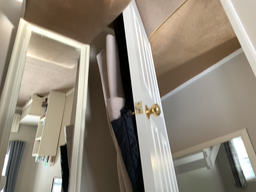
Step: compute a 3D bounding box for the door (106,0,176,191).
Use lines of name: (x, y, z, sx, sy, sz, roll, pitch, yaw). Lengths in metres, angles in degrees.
door: (0.120, 0.220, 1.190, 0.110, 1.960, 0.830, -13, 151, 12)

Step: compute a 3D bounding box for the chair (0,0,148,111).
chair: (-0.310, -0.460, 1.150, 0.500, 0.880, 0.510, 15, 144, -34)
